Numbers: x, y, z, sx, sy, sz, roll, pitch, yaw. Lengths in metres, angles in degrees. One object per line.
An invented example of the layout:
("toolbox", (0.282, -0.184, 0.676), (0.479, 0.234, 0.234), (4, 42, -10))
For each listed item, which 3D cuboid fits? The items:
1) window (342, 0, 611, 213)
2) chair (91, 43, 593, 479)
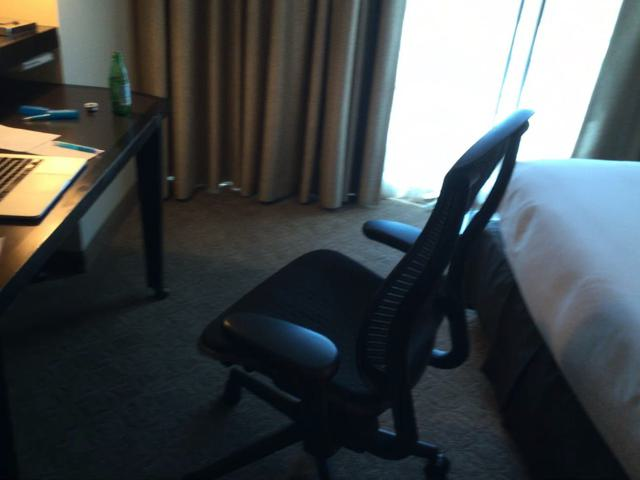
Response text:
("window", (0.760, -0.900, 2.940), (1.140, 1.470, 0.250), (4, 26, -3))
("chair", (0.040, 0.150, 1.370), (0.730, 1.040, 0.710), (21, 30, 29))
